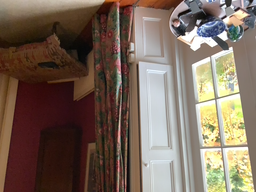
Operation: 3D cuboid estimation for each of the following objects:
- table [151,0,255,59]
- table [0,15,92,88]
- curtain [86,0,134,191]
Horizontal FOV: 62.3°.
[{"bbox_3d":[0.570,-0.750,1.630,0.490,0.640,0.630,8,162,-29],"label":"table"},{"bbox_3d":[-1.120,-0.490,2.730,0.990,0.450,0.840,-6,164,18],"label":"table"},{"bbox_3d":[-0.160,0.370,1.850,0.260,2.520,0.340,10,161,-34],"label":"curtain"}]
